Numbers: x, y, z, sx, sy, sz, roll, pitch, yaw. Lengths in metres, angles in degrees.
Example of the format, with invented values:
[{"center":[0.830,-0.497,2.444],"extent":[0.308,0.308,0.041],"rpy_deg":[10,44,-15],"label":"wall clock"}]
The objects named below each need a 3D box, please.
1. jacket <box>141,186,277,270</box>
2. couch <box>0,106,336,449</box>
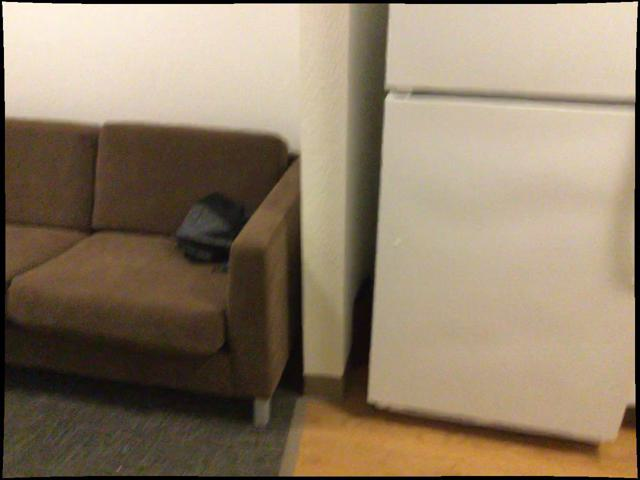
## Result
[{"center":[-0.370,-0.050,1.990],"extent":[0.380,0.170,0.250],"rpy_deg":[5,27,12],"label":"jacket"},{"center":[-0.889,0.010,2.130],"extent":[1.748,0.751,0.920],"rpy_deg":[5,27,12],"label":"couch"}]
